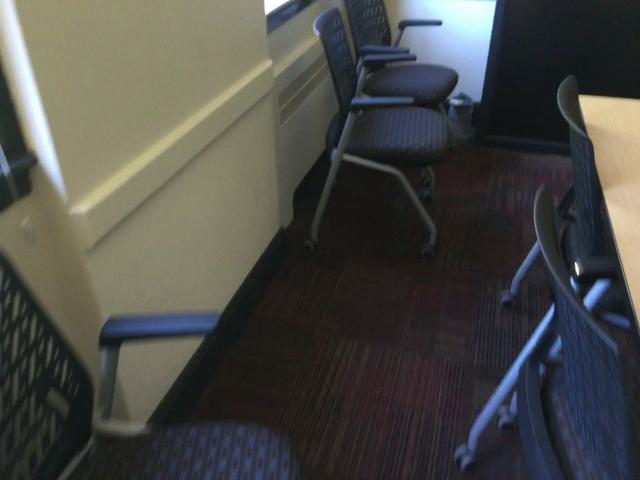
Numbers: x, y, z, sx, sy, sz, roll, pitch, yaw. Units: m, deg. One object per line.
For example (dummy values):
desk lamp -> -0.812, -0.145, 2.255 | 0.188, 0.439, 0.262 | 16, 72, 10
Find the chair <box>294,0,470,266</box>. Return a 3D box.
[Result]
chair -> 0.260, -0.430, 2.260 | 0.540, 0.840, 0.610 | 2, 34, 10

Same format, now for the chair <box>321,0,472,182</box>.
chair -> 0.380, -0.800, 2.750 | 0.500, 0.800, 0.600 | 12, 36, 23
